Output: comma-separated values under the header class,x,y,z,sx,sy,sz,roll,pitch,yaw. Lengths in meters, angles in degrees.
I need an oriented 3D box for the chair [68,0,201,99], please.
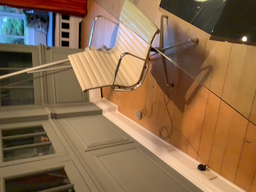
class,x,y,z,sx,sy,sz,roll,pitch,yaw
chair,0.020,-0.390,1.760,0.530,0.820,0.570,57,138,39
